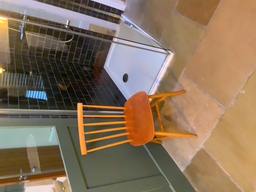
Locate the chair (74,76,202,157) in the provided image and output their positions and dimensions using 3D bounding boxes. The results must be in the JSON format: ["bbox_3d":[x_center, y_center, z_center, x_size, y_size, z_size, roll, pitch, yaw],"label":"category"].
[{"bbox_3d":[0.060,0.190,1.710,0.560,0.800,0.430,-33,61,50],"label":"chair"}]
